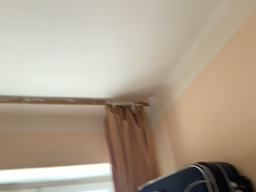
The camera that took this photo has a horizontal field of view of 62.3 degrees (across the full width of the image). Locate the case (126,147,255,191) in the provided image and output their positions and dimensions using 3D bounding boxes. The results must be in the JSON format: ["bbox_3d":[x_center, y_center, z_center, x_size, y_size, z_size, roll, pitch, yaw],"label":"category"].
[{"bbox_3d":[0.280,0.560,1.120,0.330,0.330,0.700,3,-34,-21],"label":"case"}]
